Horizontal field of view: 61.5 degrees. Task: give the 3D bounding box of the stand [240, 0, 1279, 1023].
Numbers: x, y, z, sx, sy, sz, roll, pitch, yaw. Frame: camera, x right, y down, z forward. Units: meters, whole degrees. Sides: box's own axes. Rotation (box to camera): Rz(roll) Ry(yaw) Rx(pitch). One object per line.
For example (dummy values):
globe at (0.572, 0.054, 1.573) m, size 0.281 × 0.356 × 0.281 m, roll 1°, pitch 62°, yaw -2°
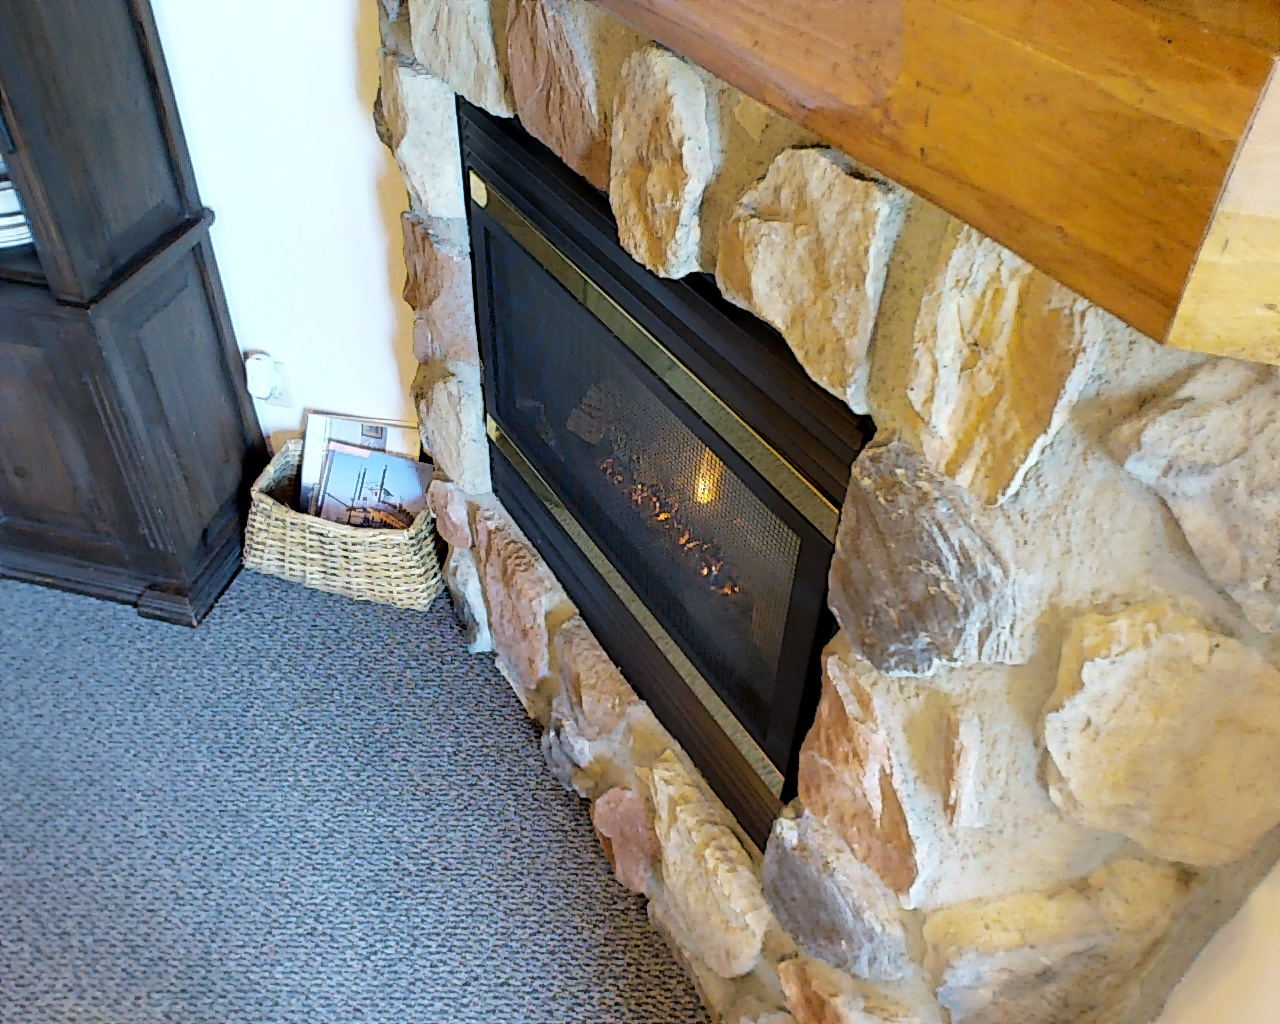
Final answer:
stand at (0.050, -0.140, 1.290) m, size 0.470 × 1.680 × 1.660 m, roll -20°, pitch 46°, yaw -25°
